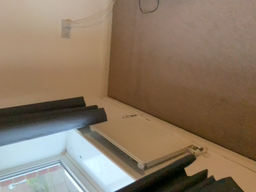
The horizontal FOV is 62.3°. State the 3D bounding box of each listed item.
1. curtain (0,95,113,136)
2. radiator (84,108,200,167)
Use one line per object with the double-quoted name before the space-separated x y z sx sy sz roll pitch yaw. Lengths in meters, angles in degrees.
"curtain" -0.810 0.140 1.320 0.320 1.520 0.090 22 112 48
"radiator" 0.070 0.230 1.450 0.640 0.490 0.060 21 111 48
